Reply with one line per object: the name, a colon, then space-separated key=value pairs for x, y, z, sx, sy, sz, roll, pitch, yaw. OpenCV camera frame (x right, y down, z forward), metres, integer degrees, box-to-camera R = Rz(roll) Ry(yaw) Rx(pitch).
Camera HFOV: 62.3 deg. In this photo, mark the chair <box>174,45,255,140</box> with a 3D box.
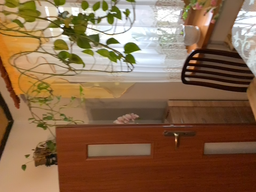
chair: x=0.940 y=-0.030 z=1.650 sx=0.400 sy=0.970 sz=0.600 roll=97 pitch=172 yaw=-50
